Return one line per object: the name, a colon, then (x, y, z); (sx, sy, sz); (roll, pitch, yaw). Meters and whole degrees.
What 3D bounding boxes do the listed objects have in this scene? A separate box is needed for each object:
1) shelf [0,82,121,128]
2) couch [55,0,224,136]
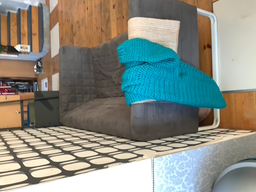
shelf: (-0.740, 0.070, 2.120); (0.350, 1.350, 0.370); (-3, 89, 55)
couch: (-0.030, -0.180, 1.680); (1.230, 0.700, 0.750); (-3, 89, 55)
